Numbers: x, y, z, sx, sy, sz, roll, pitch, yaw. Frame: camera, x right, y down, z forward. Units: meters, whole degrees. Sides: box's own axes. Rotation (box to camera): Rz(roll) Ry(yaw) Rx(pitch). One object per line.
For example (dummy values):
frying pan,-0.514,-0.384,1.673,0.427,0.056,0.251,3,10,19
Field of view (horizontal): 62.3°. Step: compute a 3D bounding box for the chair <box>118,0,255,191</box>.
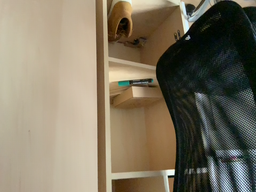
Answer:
chair,0.360,-0.090,0.690,0.590,0.990,0.550,6,158,-24
